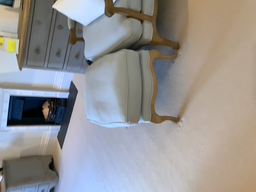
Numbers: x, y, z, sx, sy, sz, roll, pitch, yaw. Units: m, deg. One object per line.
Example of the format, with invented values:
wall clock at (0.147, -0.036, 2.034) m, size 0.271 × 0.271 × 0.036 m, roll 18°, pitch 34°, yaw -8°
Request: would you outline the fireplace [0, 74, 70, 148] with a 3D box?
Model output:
fireplace at (-1.740, 0.270, 3.400) m, size 0.310 × 1.290 × 1.170 m, roll 49°, pitch 126°, yaw 45°
